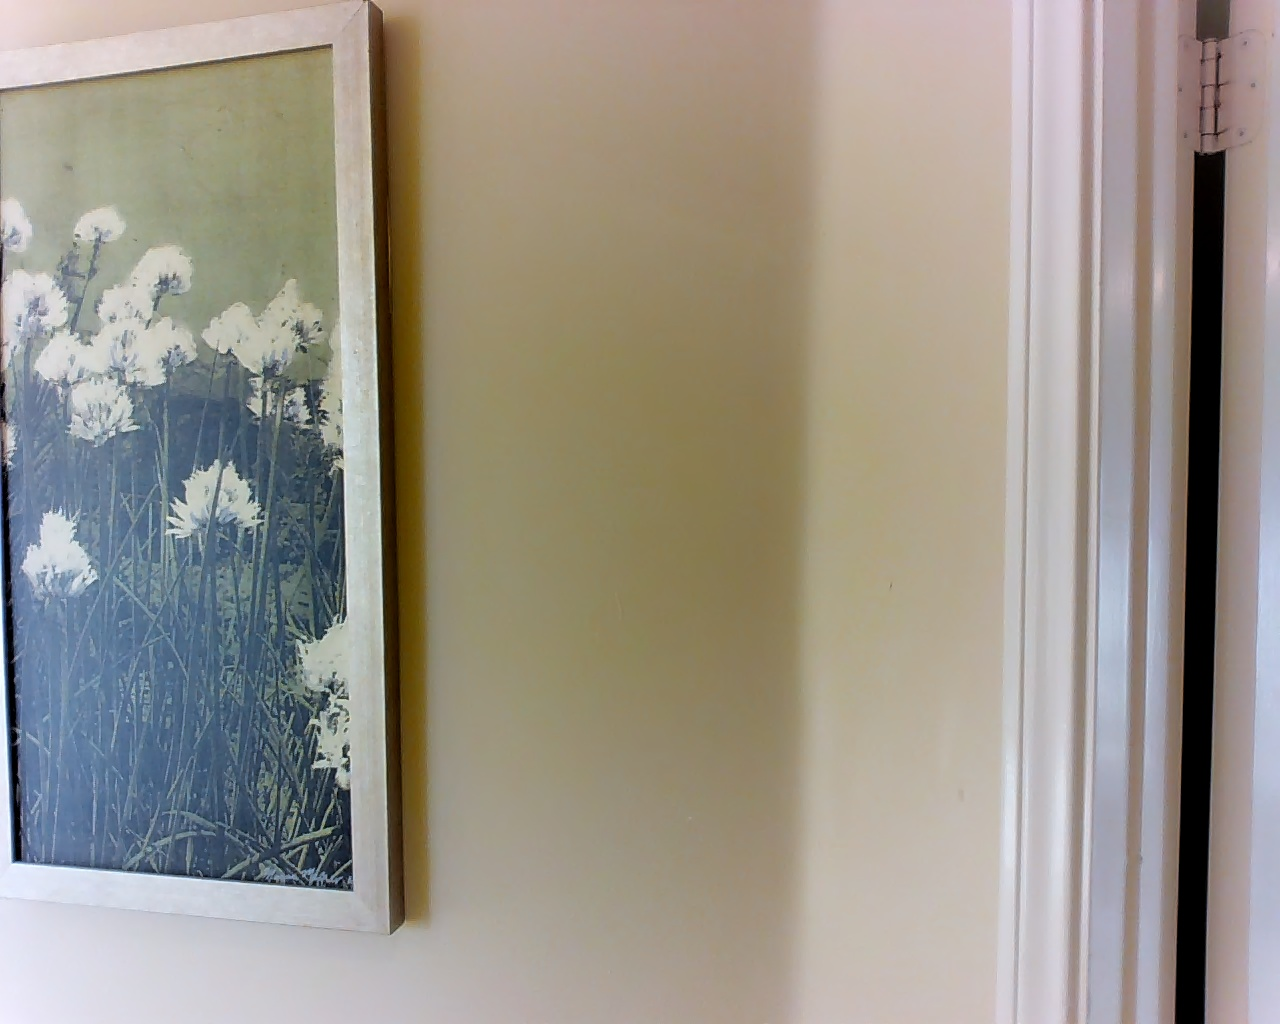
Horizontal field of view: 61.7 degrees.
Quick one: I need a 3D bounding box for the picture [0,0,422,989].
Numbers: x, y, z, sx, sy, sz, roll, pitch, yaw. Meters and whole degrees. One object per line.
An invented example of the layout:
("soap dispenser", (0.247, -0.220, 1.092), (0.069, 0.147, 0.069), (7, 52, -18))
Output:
("picture", (-0.520, -0.050, 1.200), (0.560, 1.080, 0.060), (1, 0, 14))
